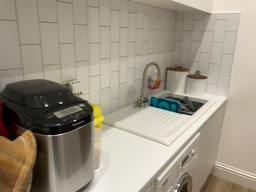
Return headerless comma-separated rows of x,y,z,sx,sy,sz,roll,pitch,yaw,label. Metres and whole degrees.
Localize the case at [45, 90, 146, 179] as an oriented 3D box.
-0.160,0.160,1.110,0.370,0.250,0.350,14,20,33,case
